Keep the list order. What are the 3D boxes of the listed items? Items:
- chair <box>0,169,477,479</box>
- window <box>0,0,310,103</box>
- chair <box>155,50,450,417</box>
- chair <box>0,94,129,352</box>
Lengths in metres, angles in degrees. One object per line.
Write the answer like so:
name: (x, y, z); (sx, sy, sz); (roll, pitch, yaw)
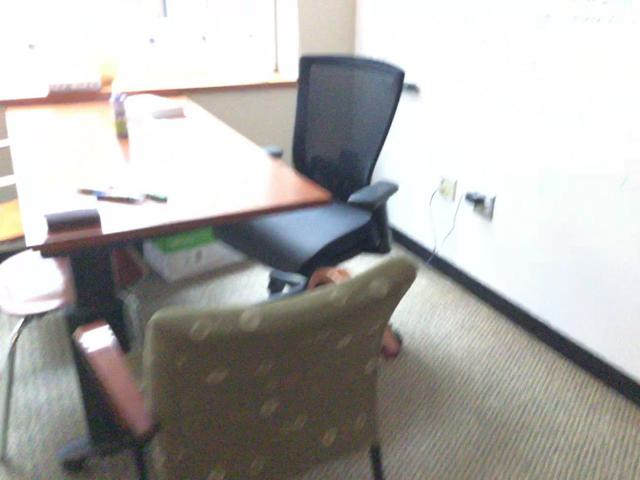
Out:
chair: (-0.190, 0.230, 1.180); (0.710, 0.530, 0.600); (-10, 26, -23)
window: (-1.150, -1.210, 2.510); (2.190, 1.090, 0.520); (-10, 26, -23)
chair: (-0.030, -0.100, 2.110); (0.700, 1.040, 0.730); (13, 26, 25)
chair: (-1.120, -0.090, 2.210); (0.580, 0.800, 0.550); (-10, 26, -23)
